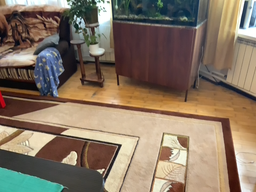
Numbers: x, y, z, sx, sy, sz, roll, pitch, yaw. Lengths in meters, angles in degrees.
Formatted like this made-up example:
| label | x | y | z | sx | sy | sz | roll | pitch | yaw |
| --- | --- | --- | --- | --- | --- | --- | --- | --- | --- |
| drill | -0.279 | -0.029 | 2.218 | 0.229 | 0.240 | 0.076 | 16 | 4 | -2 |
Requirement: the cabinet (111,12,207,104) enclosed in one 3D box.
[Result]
| label | x | y | z | sx | sy | sz | roll | pitch | yaw |
| --- | --- | --- | --- | --- | --- | --- | --- | --- | --- |
| cabinet | 0.370 | -0.530 | 2.710 | 0.990 | 0.890 | 0.520 | 16 | 35 | 27 |

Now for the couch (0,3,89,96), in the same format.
| label | x | y | z | sx | sy | sz | roll | pitch | yaw |
| --- | --- | --- | --- | --- | --- | --- | --- | --- | --- |
| couch | -1.460 | -0.750 | 3.100 | 1.340 | 0.970 | 1.000 | 8 | 32 | 16 |
